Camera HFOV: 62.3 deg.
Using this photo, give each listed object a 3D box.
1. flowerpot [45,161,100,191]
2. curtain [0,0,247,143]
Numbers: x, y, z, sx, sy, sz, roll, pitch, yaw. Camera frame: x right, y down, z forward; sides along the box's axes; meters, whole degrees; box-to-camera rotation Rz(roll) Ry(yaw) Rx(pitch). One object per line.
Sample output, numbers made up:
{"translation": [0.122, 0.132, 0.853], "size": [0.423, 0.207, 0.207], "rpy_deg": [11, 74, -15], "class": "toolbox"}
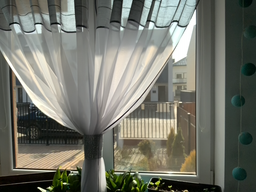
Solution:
{"translation": [-0.320, 0.530, 1.280], "size": [0.250, 0.190, 0.260], "rpy_deg": [0, 2, 3], "class": "flowerpot"}
{"translation": [-0.240, -0.360, 1.100], "size": [1.550, 1.140, 0.210], "rpy_deg": [0, 2, 5], "class": "curtain"}
